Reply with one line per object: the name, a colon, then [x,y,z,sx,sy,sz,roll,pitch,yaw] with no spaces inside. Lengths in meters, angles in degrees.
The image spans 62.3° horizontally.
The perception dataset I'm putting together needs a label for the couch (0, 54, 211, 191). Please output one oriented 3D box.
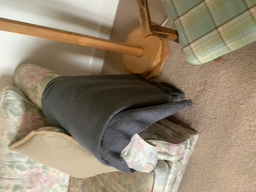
couch: [-0.430,0.880,1.330,0.900,0.770,2.010,29,110,35]
